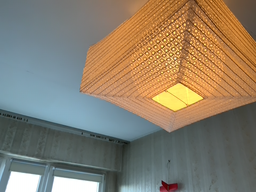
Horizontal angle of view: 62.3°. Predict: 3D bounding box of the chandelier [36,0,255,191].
[{"bbox_3d":[0.180,-0.170,0.980,0.620,0.690,1.130,28,52,-32],"label":"chandelier"}]
